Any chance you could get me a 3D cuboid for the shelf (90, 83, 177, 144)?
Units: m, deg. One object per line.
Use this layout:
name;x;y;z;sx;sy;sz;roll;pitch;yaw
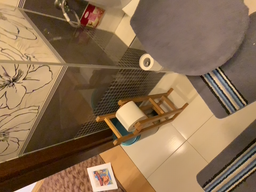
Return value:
shelf;0.060;0.070;1.190;0.170;0.510;0.200;42;116;24
